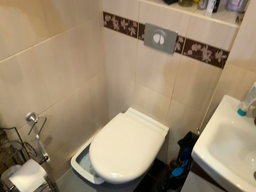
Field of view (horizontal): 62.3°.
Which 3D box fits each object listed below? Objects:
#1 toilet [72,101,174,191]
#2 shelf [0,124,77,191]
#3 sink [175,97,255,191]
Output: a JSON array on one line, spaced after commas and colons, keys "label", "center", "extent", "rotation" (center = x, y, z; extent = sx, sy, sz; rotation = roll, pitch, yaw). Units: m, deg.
[{"label": "toilet", "center": [-0.020, 0.410, 1.390], "extent": [0.380, 0.440, 0.490], "rotation": [28, 48, 24]}, {"label": "shelf", "center": [-0.470, 0.460, 1.140], "extent": [0.270, 0.560, 0.220], "rotation": [27, 48, 24]}, {"label": "sink", "center": [0.500, 0.260, 0.760], "extent": [0.520, 0.130, 0.370], "rotation": [28, 48, 24]}]
